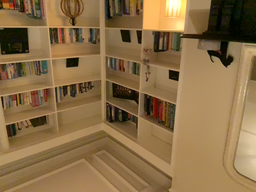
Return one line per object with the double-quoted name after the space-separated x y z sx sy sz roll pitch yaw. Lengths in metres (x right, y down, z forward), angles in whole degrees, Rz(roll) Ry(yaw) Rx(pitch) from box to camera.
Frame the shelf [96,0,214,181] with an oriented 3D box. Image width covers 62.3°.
0.180 -0.200 2.600 0.440 1.910 1.330 -15 -155 -39 "shelf"
